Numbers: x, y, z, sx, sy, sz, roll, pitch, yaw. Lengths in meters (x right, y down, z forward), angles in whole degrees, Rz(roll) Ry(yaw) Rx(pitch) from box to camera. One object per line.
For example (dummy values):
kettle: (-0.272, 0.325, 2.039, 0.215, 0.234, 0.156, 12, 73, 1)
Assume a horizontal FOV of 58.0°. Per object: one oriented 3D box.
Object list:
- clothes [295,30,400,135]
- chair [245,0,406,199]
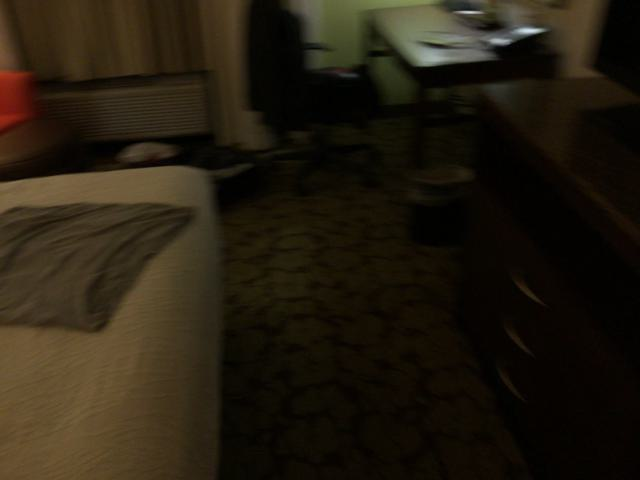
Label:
clothes: (0.130, -0.810, 2.950, 0.450, 0.340, 0.410, -7, 39, -5)
chair: (0.000, -0.830, 2.980, 0.670, 0.930, 0.710, -7, 39, -5)
